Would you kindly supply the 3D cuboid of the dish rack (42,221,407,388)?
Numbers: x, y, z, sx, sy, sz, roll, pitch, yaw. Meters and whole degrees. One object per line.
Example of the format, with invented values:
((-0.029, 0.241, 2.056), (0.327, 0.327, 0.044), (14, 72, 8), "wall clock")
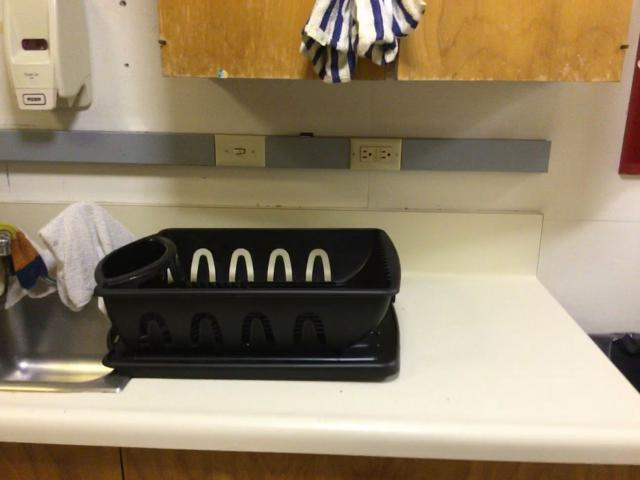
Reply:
((-0.130, 0.090, 1.060), (0.540, 0.150, 0.410), (0, 16, 4), "dish rack")

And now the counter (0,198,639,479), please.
((-0.340, 0.110, 1.090), (1.680, 0.240, 0.670), (0, 16, 4), "counter")

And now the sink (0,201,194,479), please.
((-0.710, 0.160, 1.140), (0.750, 0.360, 0.570), (0, 16, 4), "sink")
